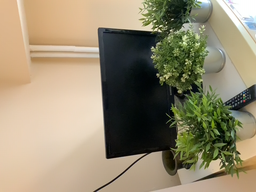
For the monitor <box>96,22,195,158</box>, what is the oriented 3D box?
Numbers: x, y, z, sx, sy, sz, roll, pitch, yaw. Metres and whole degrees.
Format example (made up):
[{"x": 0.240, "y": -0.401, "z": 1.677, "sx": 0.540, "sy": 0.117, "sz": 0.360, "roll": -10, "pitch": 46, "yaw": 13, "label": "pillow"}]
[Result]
[{"x": 0.070, "y": -0.030, "z": 0.800, "sx": 0.060, "sy": 0.350, "sz": 0.460, "roll": 168, "pitch": 99, "yaw": -70, "label": "monitor"}]
